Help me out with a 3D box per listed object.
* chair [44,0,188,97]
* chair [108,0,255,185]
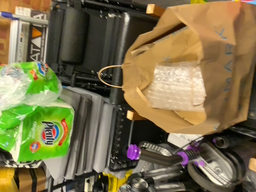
[{"bbox_3d":[-0.070,-0.370,1.610,0.510,0.880,0.640,18,102,48],"label":"chair"},{"bbox_3d":[0.470,-0.060,0.930,0.570,0.900,0.440,15,100,48],"label":"chair"}]
